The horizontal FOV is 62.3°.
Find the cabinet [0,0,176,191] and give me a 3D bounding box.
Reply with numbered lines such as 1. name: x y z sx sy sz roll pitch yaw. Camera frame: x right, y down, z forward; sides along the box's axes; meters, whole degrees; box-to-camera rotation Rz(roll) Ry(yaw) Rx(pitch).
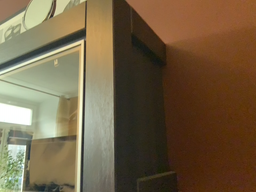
1. cabinet: -0.590 0.120 0.870 1.480 0.490 0.310 -10 -16 30
